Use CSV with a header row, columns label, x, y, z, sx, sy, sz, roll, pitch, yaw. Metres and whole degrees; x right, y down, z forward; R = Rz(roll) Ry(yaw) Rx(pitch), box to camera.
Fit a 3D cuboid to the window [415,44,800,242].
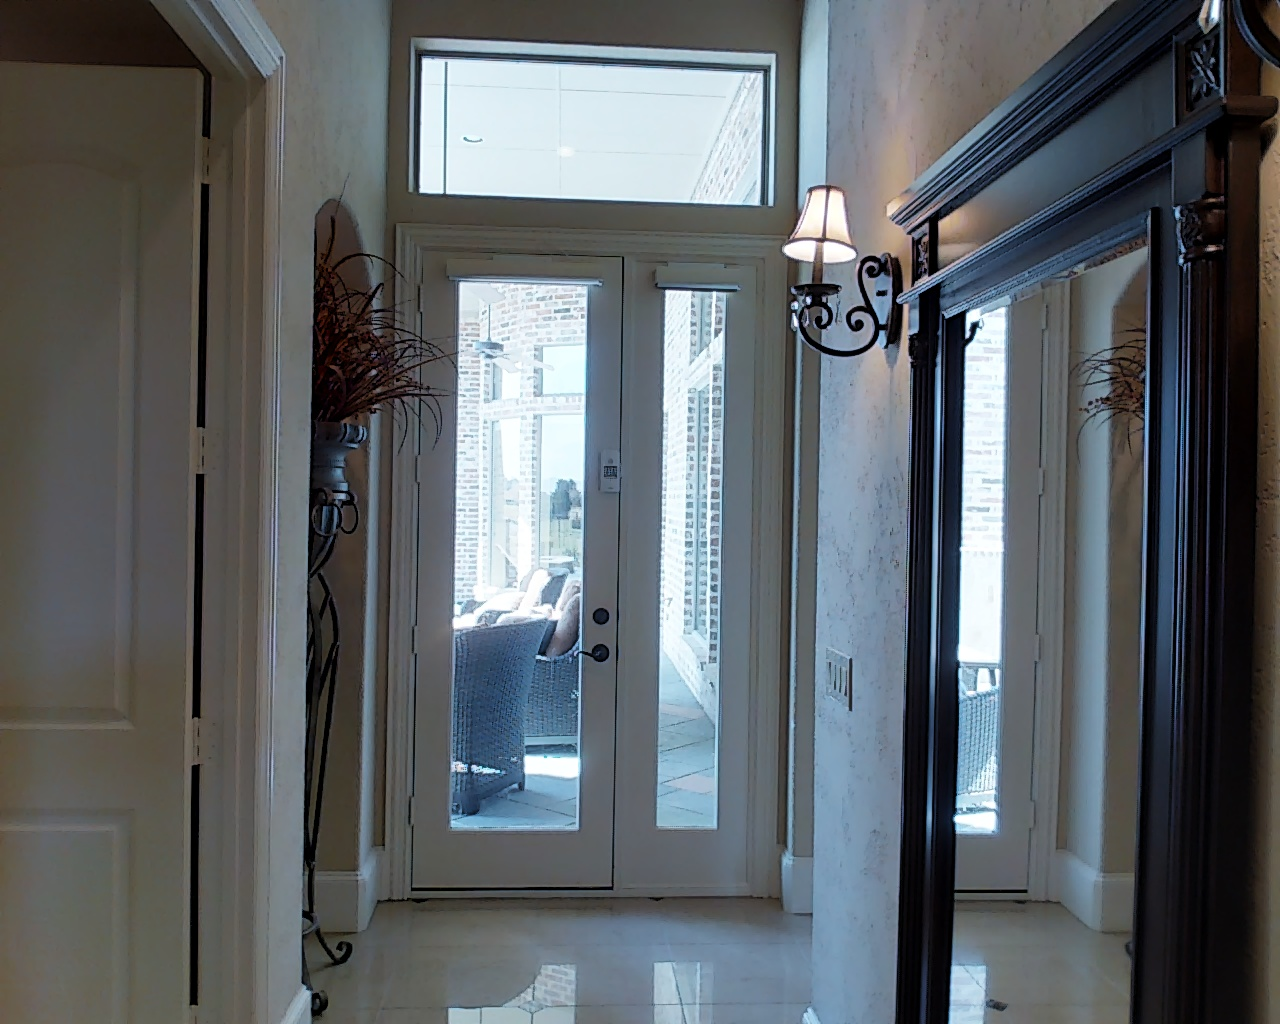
label,x,y,z,sx,sy,sz,roll,pitch,yaw
window,-0.130,-1.461,4.330,1.459,0.580,0.460,1,0,-3
